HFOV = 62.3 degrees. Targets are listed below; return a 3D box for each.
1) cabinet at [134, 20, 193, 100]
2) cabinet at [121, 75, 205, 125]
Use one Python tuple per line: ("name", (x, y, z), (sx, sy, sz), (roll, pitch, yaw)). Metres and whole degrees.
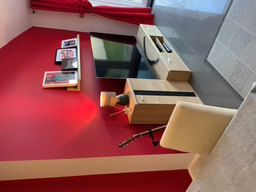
("cabinet", (0.470, -0.650, 3.400), (1.570, 0.290, 0.560), (-108, 25, -50))
("cabinet", (0.390, 0.050, 2.590), (0.500, 0.840, 0.350), (-108, 25, -50))
